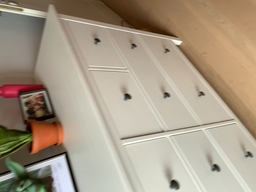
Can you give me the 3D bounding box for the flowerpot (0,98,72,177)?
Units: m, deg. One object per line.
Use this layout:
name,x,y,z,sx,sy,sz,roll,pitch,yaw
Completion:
flowerpot,-0.480,0.180,0.910,0.250,0.360,0.220,-54,51,39
